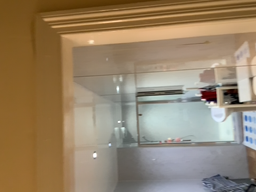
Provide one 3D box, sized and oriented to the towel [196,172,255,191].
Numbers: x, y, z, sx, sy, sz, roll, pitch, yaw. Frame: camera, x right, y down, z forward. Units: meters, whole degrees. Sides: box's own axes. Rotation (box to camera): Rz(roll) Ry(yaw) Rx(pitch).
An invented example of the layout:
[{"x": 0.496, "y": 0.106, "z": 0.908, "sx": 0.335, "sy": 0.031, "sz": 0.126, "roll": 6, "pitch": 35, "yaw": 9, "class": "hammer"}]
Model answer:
[{"x": 1.630, "y": 1.380, "z": 3.390, "sx": 0.960, "sy": 0.830, "sz": 0.130, "roll": 67, "pitch": -159, "yaw": -80, "class": "towel"}]
